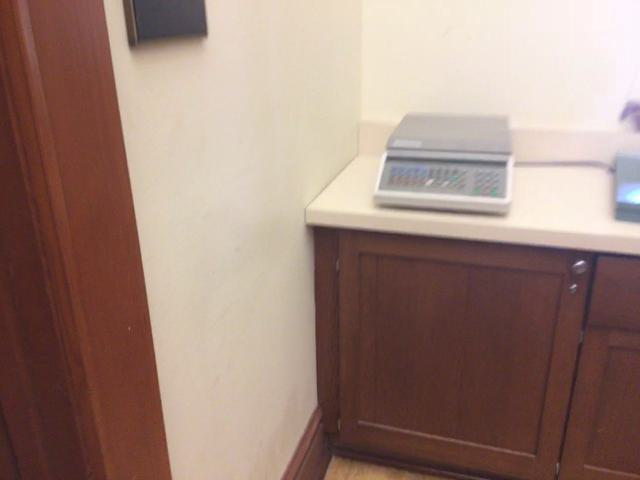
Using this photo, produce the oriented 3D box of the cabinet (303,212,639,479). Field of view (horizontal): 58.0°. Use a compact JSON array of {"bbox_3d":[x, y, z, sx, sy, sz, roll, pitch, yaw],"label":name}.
[{"bbox_3d":[0.910,0.410,1.370,1.940,0.800,0.130,6,22,16],"label":"cabinet"}]
